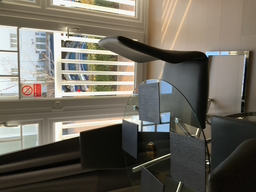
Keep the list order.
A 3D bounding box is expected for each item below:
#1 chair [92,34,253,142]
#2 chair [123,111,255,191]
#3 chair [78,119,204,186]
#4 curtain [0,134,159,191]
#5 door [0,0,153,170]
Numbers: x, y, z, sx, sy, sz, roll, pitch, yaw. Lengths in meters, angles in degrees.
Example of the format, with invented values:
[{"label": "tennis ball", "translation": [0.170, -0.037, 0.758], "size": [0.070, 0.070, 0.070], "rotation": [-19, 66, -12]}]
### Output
[{"label": "chair", "translation": [0.310, -0.080, 1.480], "size": [0.440, 1.010, 0.540], "rotation": [20, 110, 61]}, {"label": "chair", "translation": [0.560, 0.330, 1.030], "size": [0.570, 1.020, 0.400], "rotation": [4, 95, 62]}, {"label": "chair", "translation": [0.120, 0.440, 1.900], "size": [0.460, 1.000, 0.380], "rotation": [-14, 80, 62]}, {"label": "curtain", "translation": [-0.800, 0.780, 2.010], "size": [0.300, 2.430, 0.510], "rotation": [-1, 90, 63]}, {"label": "door", "translation": [-0.650, -0.340, 2.290], "size": [0.070, 2.140, 2.040], "rotation": [6, 97, 62]}]
